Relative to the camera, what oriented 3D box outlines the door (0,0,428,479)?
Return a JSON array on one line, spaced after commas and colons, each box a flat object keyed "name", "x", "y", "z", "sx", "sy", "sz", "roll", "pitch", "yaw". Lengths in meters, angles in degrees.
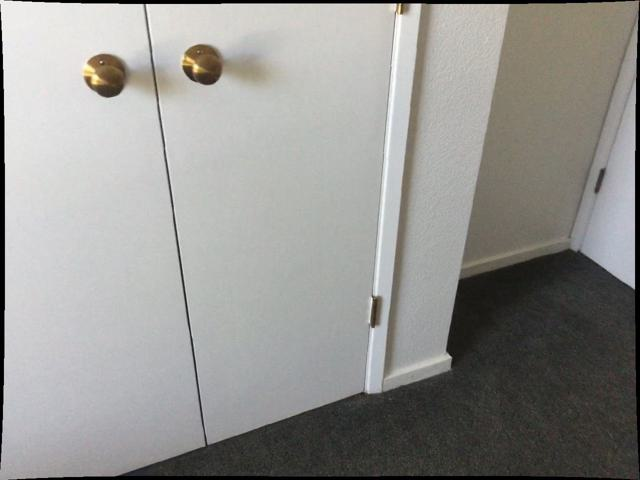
[{"name": "door", "x": -0.210, "y": 0.000, "z": 1.170, "sx": 0.849, "sy": 1.211, "sz": 0.070, "roll": -15, "pitch": 39, "yaw": -21}]
